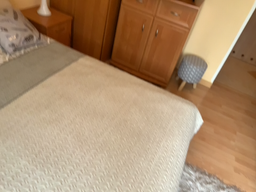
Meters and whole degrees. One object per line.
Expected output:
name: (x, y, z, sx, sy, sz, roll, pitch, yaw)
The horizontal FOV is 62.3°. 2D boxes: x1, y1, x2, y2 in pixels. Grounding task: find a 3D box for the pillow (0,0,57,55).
pillow: (-1.020, -0.680, 1.770, 0.640, 0.290, 0.490, 27, 39, 13)
